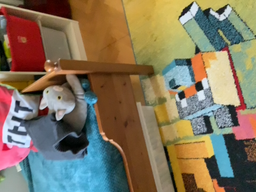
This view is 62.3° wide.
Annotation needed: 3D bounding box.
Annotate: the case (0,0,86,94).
[{"bbox_3d":[-0.720,-0.320,1.540,0.360,0.650,0.530,-17,83,40],"label":"case"}]
